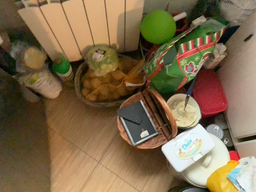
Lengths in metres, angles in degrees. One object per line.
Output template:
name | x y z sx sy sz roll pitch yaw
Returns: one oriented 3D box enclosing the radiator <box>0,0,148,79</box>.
radiator | -0.200 -0.340 0.950 0.530 0.690 0.150 -17 75 -7
